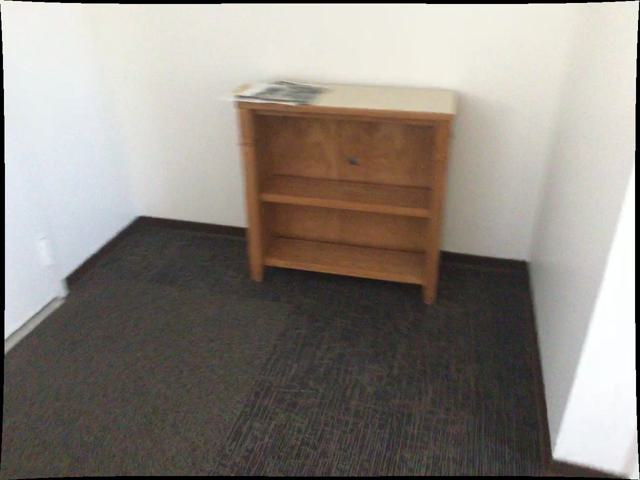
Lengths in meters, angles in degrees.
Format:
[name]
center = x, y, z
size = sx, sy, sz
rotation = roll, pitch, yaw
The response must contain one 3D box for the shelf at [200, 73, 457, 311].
[shelf]
center = 0.040, -0.200, 2.270
size = 0.869, 0.761, 0.360
rotation = 8, 30, 13
